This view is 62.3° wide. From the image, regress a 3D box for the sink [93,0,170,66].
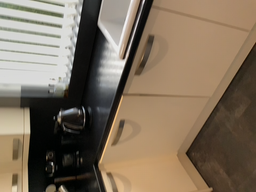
[{"bbox_3d":[0.000,-0.540,1.240,0.530,0.180,0.520,59,139,46],"label":"sink"}]
